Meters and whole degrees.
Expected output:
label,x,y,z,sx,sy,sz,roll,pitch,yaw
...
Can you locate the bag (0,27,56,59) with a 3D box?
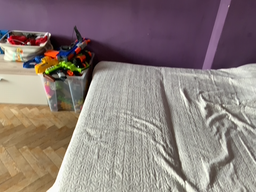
label,x,y,z,sx,sy,sz,roll,pitch,yaw
bag,-0.940,-0.510,2.010,0.380,0.150,0.390,3,34,-3
